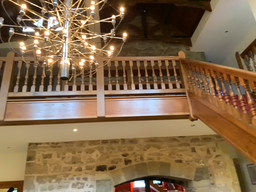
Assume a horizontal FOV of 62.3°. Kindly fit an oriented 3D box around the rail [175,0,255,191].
[{"bbox_3d":[1.340,0.400,2.330,0.140,4.430,3.410,-2,-23,-4],"label":"rail"}]
